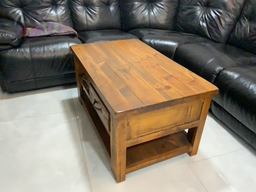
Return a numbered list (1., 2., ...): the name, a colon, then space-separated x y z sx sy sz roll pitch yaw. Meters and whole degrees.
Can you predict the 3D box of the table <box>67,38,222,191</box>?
1. table: 0.000 0.000 1.520 0.610 0.510 1.000 -12 34 -22
